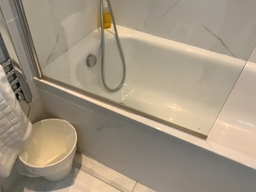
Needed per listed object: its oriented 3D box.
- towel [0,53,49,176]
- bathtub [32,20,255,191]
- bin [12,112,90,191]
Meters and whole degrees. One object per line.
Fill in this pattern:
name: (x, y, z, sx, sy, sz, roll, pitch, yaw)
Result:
towel: (-0.500, 0.090, 0.860, 0.120, 0.440, 0.250, 22, 47, 17)
bathtub: (0.440, 0.170, 1.150, 1.670, 0.520, 0.670, 21, 47, 16)
bin: (-0.390, 0.310, 1.150, 0.240, 0.280, 0.260, 25, 48, 19)
